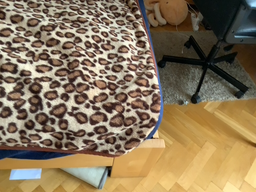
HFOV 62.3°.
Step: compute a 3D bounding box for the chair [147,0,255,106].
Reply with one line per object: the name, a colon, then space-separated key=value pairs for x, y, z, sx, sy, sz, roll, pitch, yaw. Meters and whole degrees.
chair: x=0.640 y=-0.600 z=1.270 sx=0.690 sy=1.210 sz=0.740 roll=-1 pitch=52 yaw=-11
